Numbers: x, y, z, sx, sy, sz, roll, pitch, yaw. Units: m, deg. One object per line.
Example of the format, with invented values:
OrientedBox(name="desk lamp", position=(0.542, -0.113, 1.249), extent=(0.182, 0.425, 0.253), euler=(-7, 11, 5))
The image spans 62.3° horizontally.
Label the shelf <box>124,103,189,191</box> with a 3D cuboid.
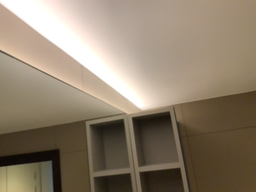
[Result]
OrientedBox(name="shelf", position=(0.190, 0.590, 1.010), extent=(0.240, 1.060, 0.230), euler=(-10, -14, 11))
